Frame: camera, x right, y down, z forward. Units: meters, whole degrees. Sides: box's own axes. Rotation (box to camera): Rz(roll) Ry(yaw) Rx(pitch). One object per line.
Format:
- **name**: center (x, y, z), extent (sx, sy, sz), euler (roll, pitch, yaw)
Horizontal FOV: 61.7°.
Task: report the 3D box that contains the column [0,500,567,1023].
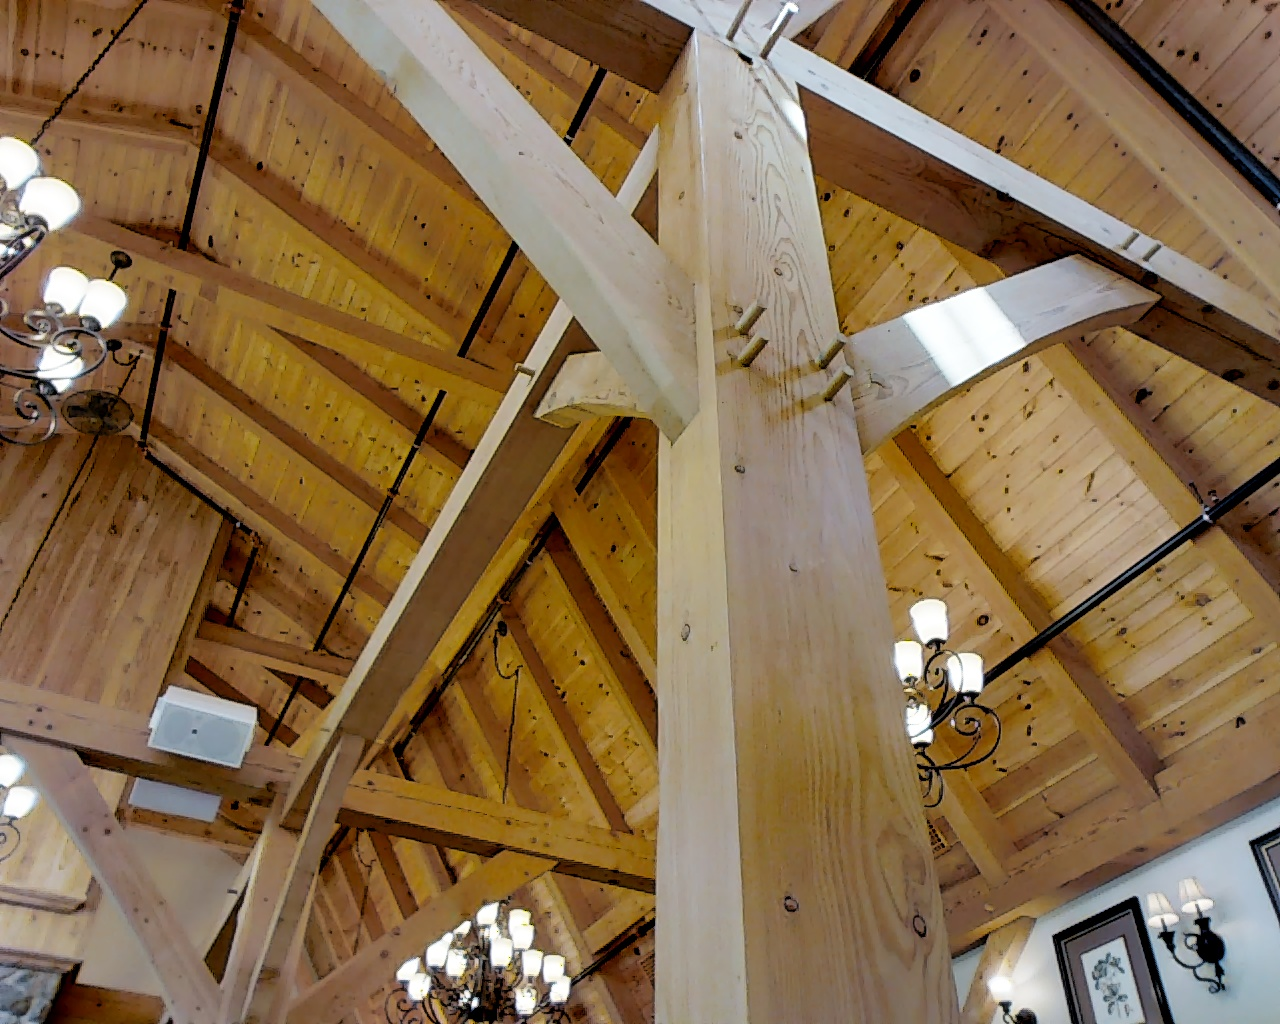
- **column**: center (-1.889, 2.921, 4.670), extent (1.929, 4.961, 2.970), euler (-11, -44, 13)
